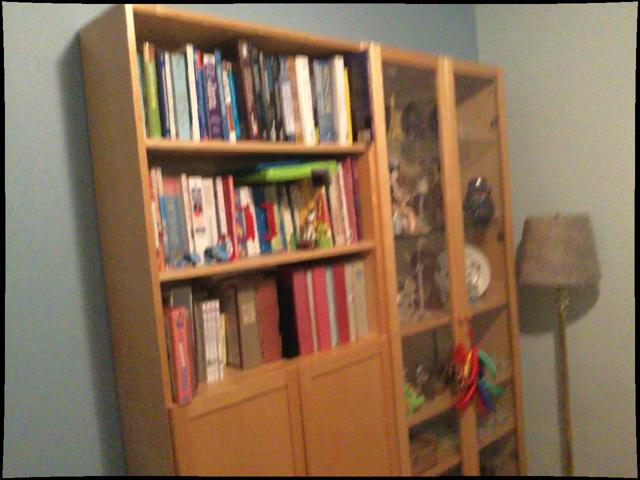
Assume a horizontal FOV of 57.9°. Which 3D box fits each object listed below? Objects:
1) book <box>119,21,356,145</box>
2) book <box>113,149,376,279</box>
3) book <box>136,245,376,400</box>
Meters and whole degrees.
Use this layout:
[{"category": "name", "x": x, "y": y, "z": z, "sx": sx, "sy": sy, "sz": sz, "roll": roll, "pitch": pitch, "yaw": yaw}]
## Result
[{"category": "book", "x": -0.200, "y": -0.430, "z": 1.670, "sx": 0.690, "sy": 0.280, "sz": 0.140, "roll": -10, "pitch": 7, "yaw": -41}, {"category": "book", "x": -0.190, "y": -0.100, "z": 1.710, "sx": 0.720, "sy": 0.290, "sz": 0.270, "roll": -10, "pitch": 7, "yaw": -41}, {"category": "book", "x": -0.160, "y": 0.210, "z": 1.740, "sx": 0.700, "sy": 0.290, "sz": 0.210, "roll": -10, "pitch": 7, "yaw": -41}]
